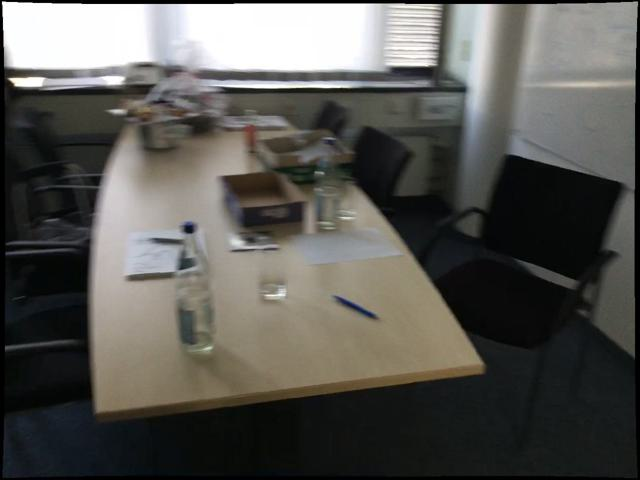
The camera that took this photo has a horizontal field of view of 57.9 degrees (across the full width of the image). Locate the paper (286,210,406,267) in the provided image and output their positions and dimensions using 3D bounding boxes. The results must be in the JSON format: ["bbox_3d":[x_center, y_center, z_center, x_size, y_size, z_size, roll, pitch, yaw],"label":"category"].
[{"bbox_3d":[0.070,-0.010,1.730,0.310,0.050,0.220,-5,27,-12],"label":"paper"}]

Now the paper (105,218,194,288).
[{"bbox_3d":[-0.480,0.030,1.650,0.220,0.070,0.260,-5,27,-11],"label":"paper"}]
